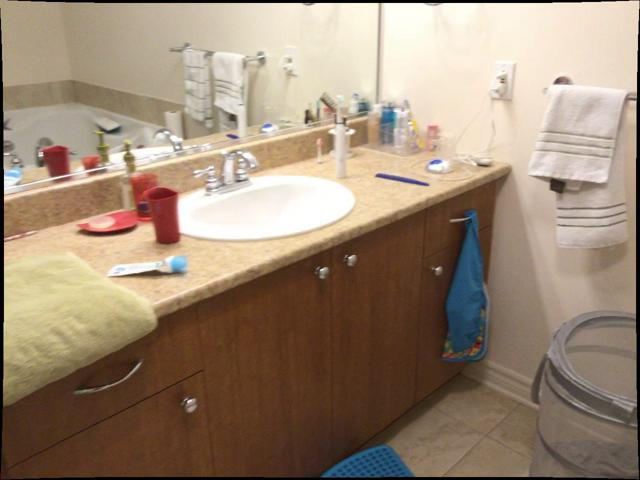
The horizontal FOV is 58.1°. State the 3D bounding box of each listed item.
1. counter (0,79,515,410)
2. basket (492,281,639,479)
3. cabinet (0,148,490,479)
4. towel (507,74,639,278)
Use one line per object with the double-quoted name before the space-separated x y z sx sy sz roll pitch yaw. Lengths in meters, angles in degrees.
"counter" -0.200 -0.190 1.560 0.740 0.230 1.569 21 32 39
"basket" 0.839 0.490 1.570 0.490 0.480 0.500 21 32 39
"cabinet" -0.210 0.310 1.630 0.640 0.771 1.430 21 32 39
"towel" 0.739 -0.190 1.640 0.290 0.500 0.170 21 32 39
